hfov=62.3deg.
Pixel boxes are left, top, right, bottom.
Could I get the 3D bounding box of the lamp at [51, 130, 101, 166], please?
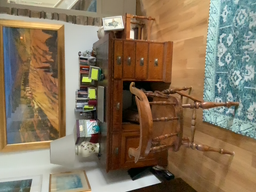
[{"bbox_3d":[-0.630,0.610,2.550,0.260,0.560,0.300,-156,67,-68],"label":"lamp"}]
